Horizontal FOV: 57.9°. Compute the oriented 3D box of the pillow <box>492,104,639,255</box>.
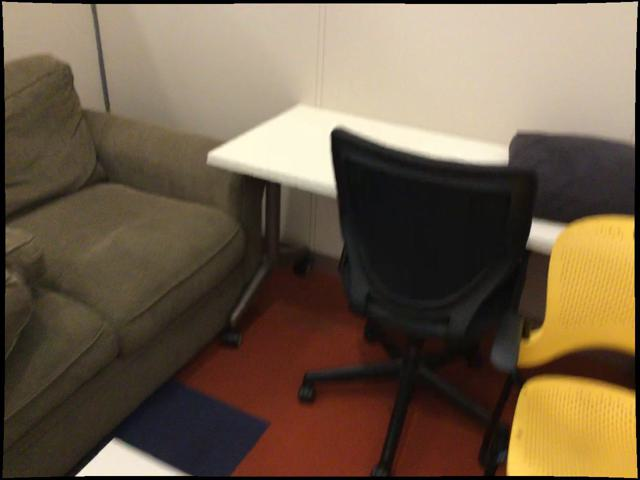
[{"bbox_3d":[0.759,-0.200,1.720,0.420,0.180,0.520,10,34,7],"label":"pillow"}]

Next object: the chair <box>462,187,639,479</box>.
[{"bbox_3d":[0.689,0.430,1.350,0.550,0.751,0.750,20,36,20],"label":"chair"}]

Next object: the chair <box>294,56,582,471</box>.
[{"bbox_3d":[0.350,0.040,1.820,0.530,0.971,0.710,20,36,20],"label":"chair"}]

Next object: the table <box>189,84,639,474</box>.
[{"bbox_3d":[0.300,0.040,2.010,1.309,0.720,0.670,20,36,20],"label":"table"}]
